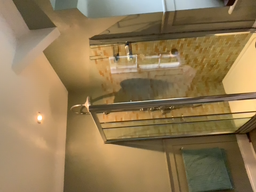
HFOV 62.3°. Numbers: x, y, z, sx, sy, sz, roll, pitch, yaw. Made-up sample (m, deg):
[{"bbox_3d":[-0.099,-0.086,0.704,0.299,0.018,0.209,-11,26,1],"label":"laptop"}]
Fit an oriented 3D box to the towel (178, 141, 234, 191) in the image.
[{"bbox_3d":[1.010,0.920,2.810,0.060,0.570,0.610,88,178,-60],"label":"towel"}]
